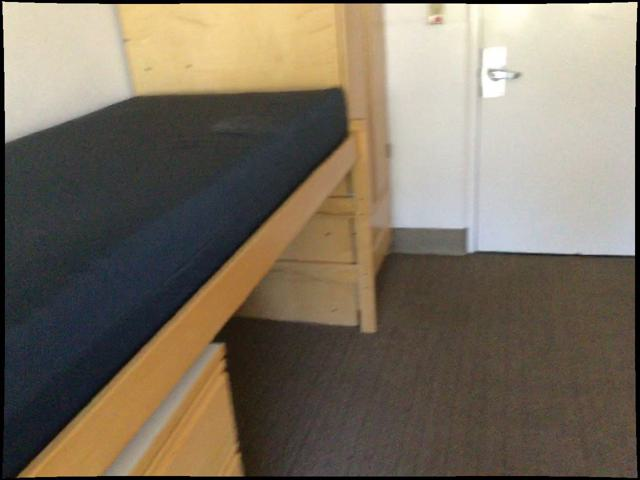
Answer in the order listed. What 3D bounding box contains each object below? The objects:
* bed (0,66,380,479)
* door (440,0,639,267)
[{"bbox_3d":[-0.598,0.311,1.650,1.058,1.122,2.221,1,26,17],"label":"bed"},{"bbox_3d":[1.127,-0.752,2.630,1.097,1.844,0.200,1,26,18],"label":"door"}]
